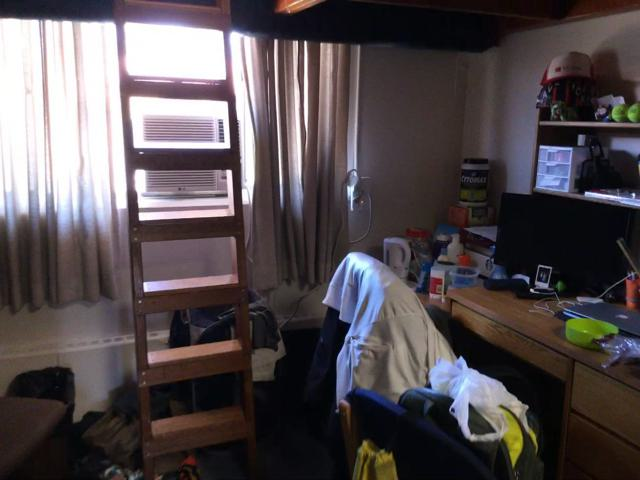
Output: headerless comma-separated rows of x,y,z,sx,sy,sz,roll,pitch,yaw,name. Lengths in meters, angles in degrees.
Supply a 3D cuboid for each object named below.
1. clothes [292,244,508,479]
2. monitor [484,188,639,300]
0.220,0.440,1.910,0.450,0.740,0.580,-3,11,-22,clothes
0.970,-0.010,2.350,0.320,0.360,0.510,-3,11,-22,monitor
